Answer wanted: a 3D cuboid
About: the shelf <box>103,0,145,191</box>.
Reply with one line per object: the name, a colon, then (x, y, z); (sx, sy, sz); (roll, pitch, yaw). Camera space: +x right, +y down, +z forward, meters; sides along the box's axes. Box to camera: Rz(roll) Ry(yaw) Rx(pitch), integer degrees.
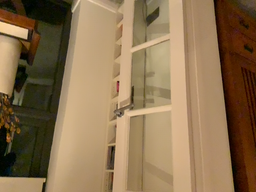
shelf: (-0.020, 0.160, 1.450); (0.170, 2.050, 0.200); (12, 159, -27)
